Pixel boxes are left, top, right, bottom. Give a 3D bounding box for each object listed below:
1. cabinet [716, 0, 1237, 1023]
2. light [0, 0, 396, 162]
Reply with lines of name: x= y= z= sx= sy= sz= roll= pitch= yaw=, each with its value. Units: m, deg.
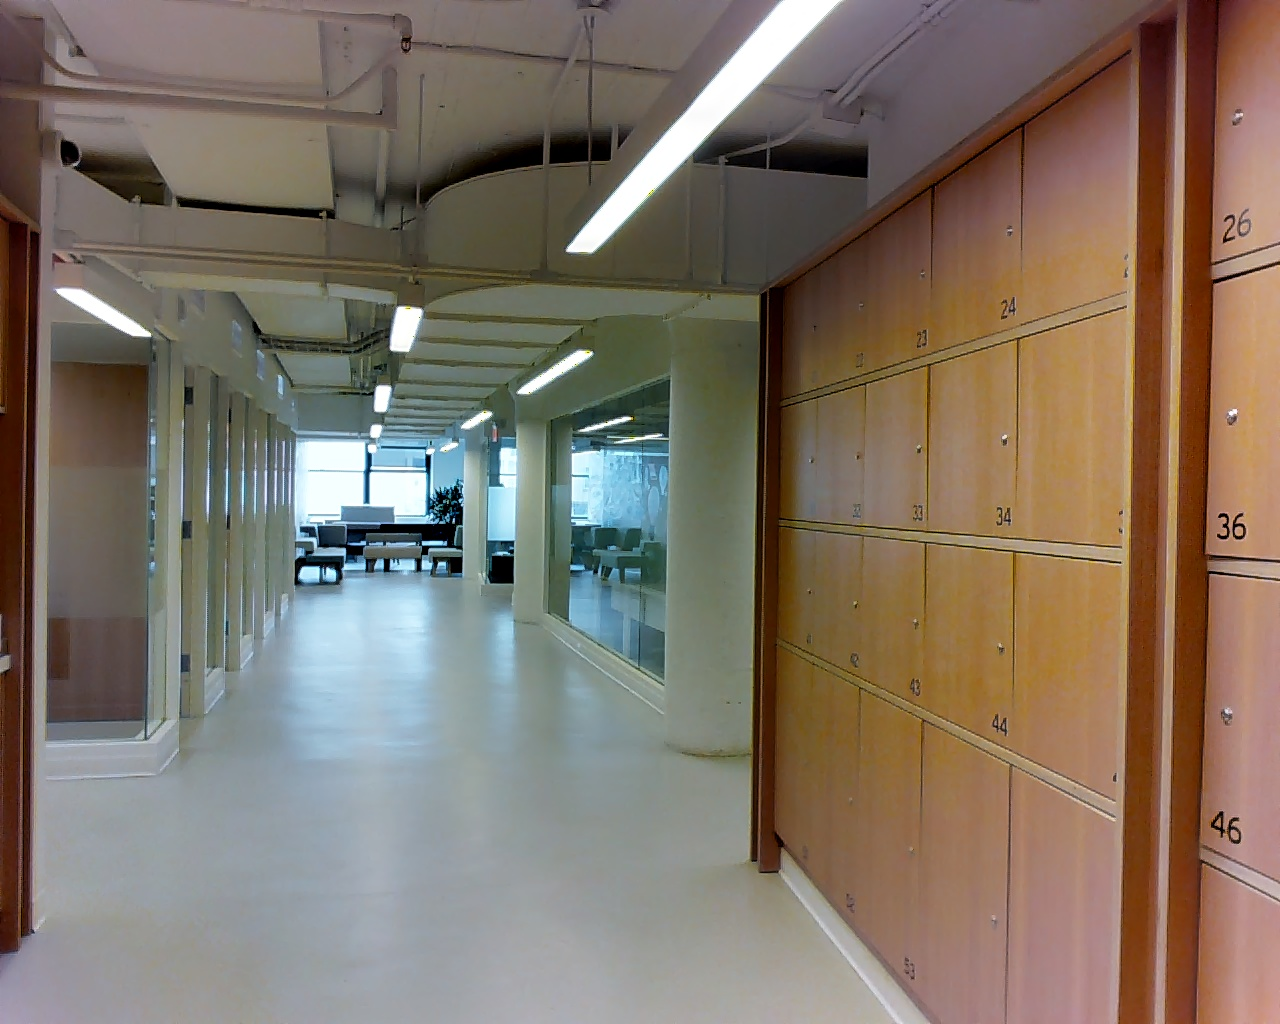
cabinet: x=0.640 y=0.260 z=3.020 sx=0.160 sy=2.371 sz=2.600 roll=1 pitch=0 yaw=-10
light: x=-1.490 y=-1.470 z=3.720 sx=1.230 sy=0.240 sz=0.500 roll=1 pitch=0 yaw=-16
